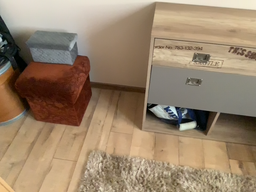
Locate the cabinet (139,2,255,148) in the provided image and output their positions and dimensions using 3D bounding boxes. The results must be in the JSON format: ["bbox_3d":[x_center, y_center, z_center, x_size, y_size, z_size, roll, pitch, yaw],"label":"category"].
[{"bbox_3d":[0.570,-0.090,1.310,0.920,0.740,0.390,7,46,5],"label":"cabinet"}]
